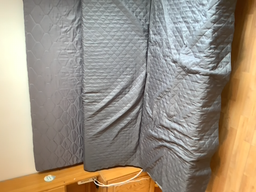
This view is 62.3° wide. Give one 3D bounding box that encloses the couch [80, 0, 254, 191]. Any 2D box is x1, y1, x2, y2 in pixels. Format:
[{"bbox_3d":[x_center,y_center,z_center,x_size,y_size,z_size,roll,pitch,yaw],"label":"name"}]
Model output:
[{"bbox_3d":[0.170,-0.130,1.950,1.120,0.910,2.150,31,122,55],"label":"couch"}]
